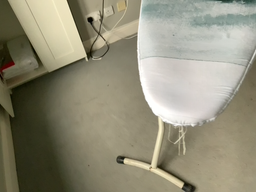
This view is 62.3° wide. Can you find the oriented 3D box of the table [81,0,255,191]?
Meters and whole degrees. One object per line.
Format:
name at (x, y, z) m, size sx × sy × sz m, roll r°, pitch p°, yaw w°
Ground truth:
table at (0.360, -0.160, 1.110) m, size 0.450 × 0.940 × 1.340 m, roll 4°, pitch 48°, yaw 16°
